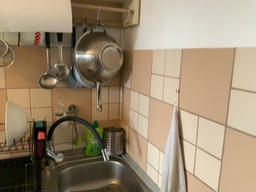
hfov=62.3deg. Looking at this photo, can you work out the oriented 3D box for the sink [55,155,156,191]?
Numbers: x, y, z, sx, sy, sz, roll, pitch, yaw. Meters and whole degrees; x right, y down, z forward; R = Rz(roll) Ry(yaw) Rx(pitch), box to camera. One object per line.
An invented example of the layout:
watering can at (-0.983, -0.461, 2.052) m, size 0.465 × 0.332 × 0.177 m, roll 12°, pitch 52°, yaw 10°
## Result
sink at (-0.120, 0.450, 0.960) m, size 0.370 × 0.160 × 0.350 m, roll -2°, pitch 13°, yaw -23°
